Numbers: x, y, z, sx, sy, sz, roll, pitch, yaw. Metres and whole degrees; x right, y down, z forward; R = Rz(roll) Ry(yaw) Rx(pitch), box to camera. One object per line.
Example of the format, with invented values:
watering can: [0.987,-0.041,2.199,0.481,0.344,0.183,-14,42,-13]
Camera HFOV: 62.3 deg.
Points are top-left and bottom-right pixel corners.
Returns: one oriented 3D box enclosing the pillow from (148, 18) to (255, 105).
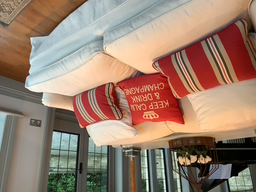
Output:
pillow: [0.420,-0.140,1.160,0.500,0.210,0.340,-17,154,36]

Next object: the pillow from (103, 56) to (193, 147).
pillow: [0.120,0.030,1.550,0.180,0.470,0.460,26,-168,-49]

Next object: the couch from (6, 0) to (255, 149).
couch: [0.070,-0.180,1.550,1.810,0.870,0.900,-16,155,35]

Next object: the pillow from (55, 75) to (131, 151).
pillow: [-0.320,0.120,1.760,0.630,0.340,0.190,33,-175,41]
